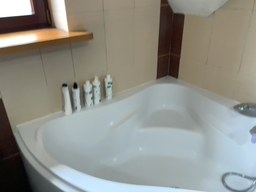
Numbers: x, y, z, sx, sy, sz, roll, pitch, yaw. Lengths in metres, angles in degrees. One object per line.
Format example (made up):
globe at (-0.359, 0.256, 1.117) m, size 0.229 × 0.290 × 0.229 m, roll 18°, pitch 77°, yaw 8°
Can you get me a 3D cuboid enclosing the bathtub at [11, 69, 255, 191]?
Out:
bathtub at (0.290, 0.460, 1.360) m, size 1.460 × 0.600 × 1.350 m, roll -21°, pitch 34°, yaw -34°
